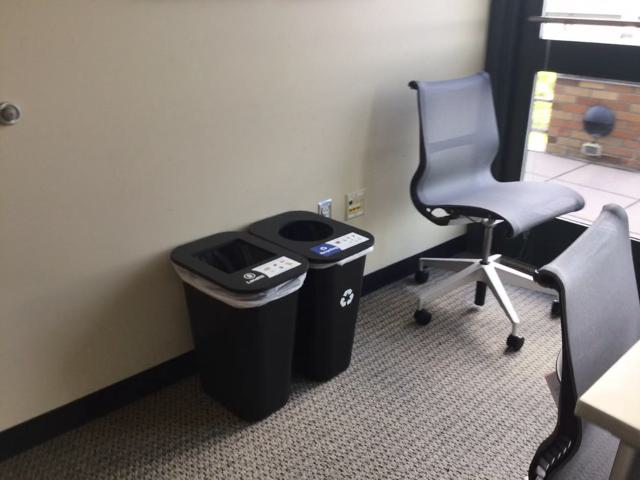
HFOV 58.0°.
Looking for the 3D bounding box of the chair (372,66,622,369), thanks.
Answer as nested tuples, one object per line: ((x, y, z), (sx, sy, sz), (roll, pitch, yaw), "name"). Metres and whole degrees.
((0.670, -0.150, 2.320), (0.570, 0.970, 0.680), (-19, 26, -31), "chair")
